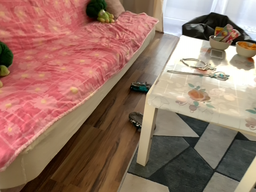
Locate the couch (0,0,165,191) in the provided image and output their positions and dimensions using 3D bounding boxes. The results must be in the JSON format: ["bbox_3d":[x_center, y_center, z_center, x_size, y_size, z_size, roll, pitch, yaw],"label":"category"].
[{"bbox_3d":[-0.440,-0.450,1.480,0.970,0.880,2.060,16,35,13],"label":"couch"}]

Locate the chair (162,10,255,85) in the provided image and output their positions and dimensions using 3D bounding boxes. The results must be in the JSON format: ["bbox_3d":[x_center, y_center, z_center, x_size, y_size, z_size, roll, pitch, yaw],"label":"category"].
[{"bbox_3d":[1.050,-0.620,2.400,0.880,0.410,0.910,-22,43,-35],"label":"chair"}]
